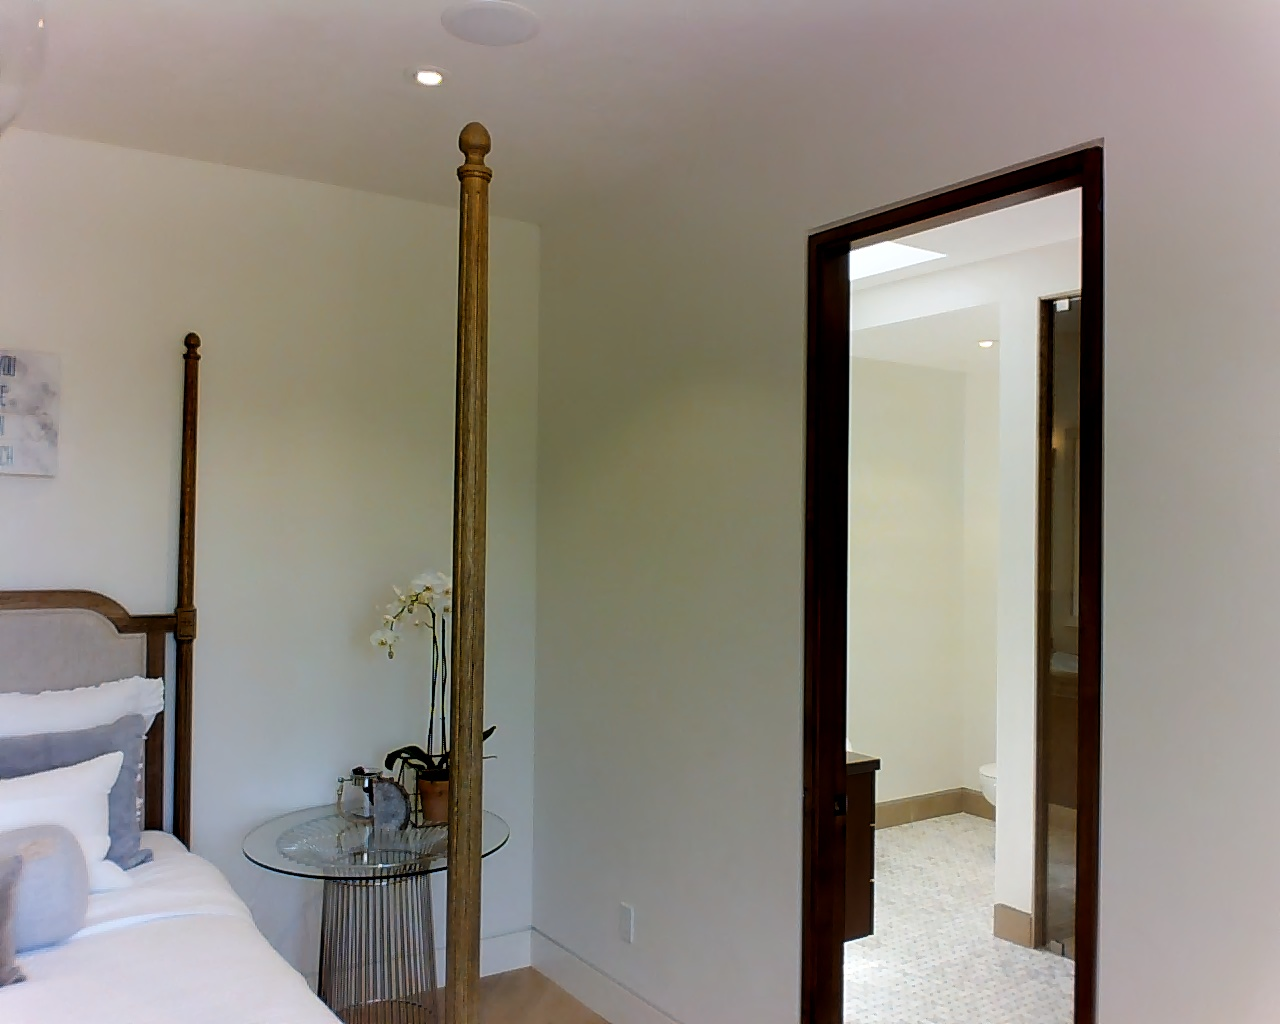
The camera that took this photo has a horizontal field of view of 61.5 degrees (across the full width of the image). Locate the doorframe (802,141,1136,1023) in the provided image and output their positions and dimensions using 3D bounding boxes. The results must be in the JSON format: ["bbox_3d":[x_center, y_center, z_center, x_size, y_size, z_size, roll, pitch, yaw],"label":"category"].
[{"bbox_3d":[0.750,0.460,2.610,0.140,2.460,0.850,1,-1,-34],"label":"doorframe"}]

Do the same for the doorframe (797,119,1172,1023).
[{"bbox_3d":[0.770,0.460,2.570,0.210,2.490,0.900,1,-1,-34],"label":"doorframe"}]
